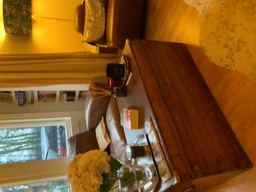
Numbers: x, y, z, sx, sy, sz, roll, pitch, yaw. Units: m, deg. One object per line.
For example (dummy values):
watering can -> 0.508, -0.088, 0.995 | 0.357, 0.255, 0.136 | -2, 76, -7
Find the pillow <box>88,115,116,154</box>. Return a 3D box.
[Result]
pillow -> -0.320, 0.460, 2.500 | 0.110, 0.340, 0.360 | -19, 72, -29
